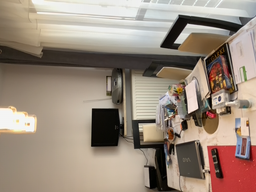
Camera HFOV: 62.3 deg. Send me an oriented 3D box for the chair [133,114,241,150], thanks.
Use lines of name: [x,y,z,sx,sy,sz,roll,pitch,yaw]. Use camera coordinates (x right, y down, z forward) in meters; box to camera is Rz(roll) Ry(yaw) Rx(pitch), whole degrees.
chair: [0.610,0.400,2.330,0.410,1.050,0.310,119,150,-70]

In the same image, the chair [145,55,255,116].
chair: [0.710,-0.060,1.790,0.370,1.050,0.410,127,142,-74]

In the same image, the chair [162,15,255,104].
chair: [0.790,-0.190,1.350,0.360,1.050,0.410,125,144,-73]
